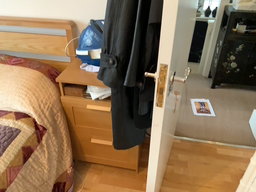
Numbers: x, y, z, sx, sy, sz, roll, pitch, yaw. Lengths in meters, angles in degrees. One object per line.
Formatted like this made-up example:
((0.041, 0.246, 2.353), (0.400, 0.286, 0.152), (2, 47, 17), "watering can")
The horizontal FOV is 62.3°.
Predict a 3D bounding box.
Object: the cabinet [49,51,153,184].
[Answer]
((-0.140, 0.150, 1.560), (0.540, 0.790, 0.470), (7, 34, 9), "cabinet")

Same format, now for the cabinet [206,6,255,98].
((1.350, -0.480, 2.430), (0.660, 0.940, 0.300), (7, 34, 9), "cabinet")
